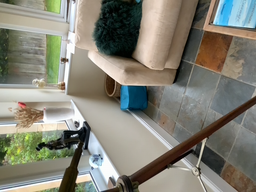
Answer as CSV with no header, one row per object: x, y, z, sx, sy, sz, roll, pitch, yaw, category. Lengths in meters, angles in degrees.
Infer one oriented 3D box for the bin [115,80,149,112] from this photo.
0.040,-0.010,2.670,0.330,0.280,0.370,10,98,59,bin

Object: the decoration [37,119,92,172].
-0.610,0.460,2.030,0.190,0.430,0.410,37,121,53,decoration

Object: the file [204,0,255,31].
0.570,-0.500,1.090,0.300,0.070,0.280,37,121,53,file
